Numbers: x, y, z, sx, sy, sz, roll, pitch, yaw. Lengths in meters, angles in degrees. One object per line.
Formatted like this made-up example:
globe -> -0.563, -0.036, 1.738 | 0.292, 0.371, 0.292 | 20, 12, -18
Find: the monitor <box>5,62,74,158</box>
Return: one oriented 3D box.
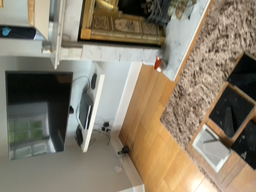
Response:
monitor -> -0.870, 0.150, 2.100 | 0.110, 0.560, 0.970 | 45, 130, 48
